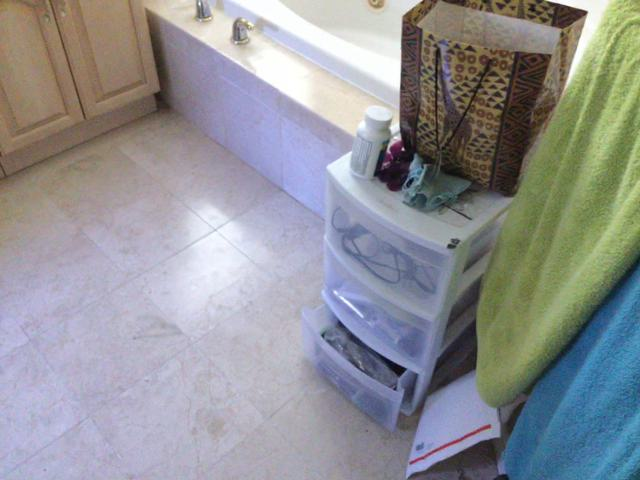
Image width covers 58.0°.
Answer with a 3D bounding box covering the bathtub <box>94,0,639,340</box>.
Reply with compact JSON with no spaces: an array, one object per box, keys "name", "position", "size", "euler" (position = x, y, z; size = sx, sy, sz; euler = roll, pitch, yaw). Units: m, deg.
[{"name":"bathtub","position":[0.210,-0.680,2.150],"size":[1.830,0.540,1.210],"euler":[36,53,28]}]
